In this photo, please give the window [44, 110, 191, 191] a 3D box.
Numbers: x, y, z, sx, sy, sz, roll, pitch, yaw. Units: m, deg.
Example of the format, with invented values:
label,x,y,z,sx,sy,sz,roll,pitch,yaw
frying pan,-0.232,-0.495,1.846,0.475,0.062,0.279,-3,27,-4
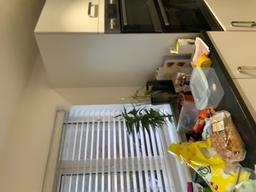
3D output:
label,x,y,z,sx,sy,sz,roll,pitch,yaw
window,-0.090,0.500,1.720,0.060,1.050,0.890,93,173,-48
